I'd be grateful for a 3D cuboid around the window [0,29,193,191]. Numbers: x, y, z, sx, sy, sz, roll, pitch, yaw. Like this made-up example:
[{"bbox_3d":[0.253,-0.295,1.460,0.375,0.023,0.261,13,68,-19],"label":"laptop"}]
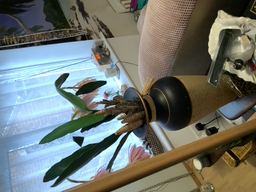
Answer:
[{"bbox_3d":[-0.400,0.170,1.490,1.540,0.890,0.380,61,153,34],"label":"window"}]
